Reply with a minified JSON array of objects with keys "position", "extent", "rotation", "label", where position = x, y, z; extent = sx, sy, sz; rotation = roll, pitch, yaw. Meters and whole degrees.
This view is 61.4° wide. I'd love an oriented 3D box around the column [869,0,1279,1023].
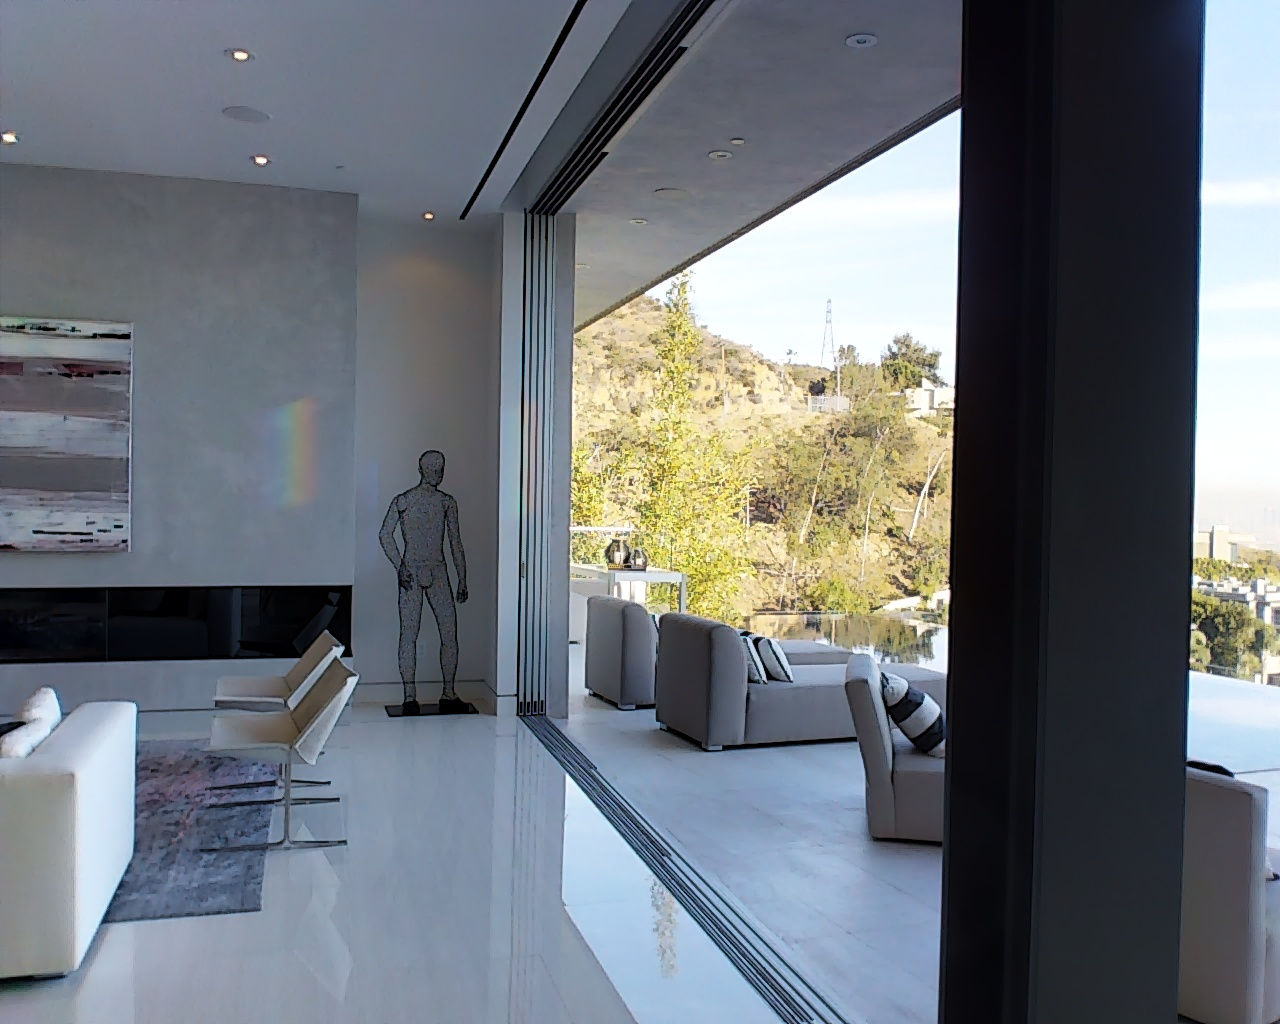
[{"position":[0.680,-0.080,1.700],"extent":[0.440,3.200,0.430],"rotation":[0,1,-17],"label":"column"}]
